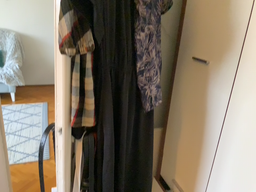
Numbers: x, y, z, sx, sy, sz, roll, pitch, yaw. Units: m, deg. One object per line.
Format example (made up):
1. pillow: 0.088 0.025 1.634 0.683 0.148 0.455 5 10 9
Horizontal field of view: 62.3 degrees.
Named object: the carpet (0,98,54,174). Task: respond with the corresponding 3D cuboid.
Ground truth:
1. carpet: -1.730 0.400 2.620 1.480 0.070 1.740 -3 21 -20
